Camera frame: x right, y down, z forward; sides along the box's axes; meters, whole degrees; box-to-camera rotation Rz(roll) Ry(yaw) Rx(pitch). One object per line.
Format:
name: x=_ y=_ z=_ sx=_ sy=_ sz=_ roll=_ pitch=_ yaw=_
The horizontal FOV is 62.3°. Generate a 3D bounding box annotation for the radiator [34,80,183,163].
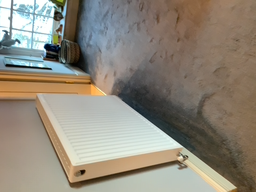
radiator: x=-0.190 y=0.100 z=1.530 sx=0.880 sy=0.750 sz=0.110 roll=36 pitch=119 yaw=50
